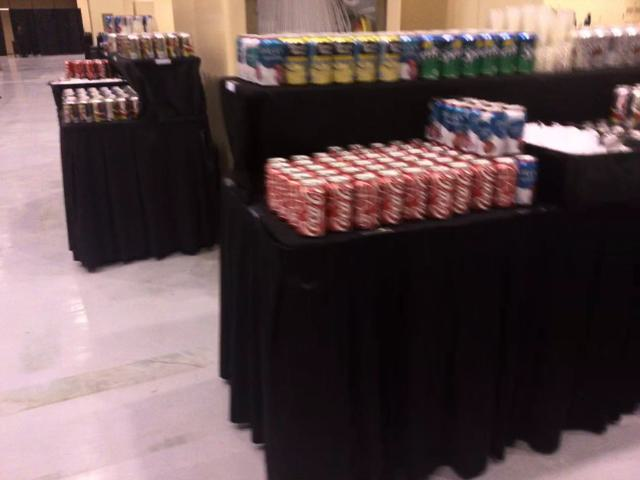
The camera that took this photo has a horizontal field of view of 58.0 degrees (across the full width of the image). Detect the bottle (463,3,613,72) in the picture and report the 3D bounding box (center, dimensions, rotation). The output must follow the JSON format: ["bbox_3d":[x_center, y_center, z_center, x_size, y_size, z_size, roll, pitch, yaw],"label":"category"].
[{"bbox_3d":[0.660,-0.640,1.810,0.200,0.180,0.420,-7,22,-18],"label":"bottle"}]

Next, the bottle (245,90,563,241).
[{"bbox_3d":[0.190,-0.220,1.480,0.680,0.250,0.390,-7,22,-18],"label":"bottle"}]

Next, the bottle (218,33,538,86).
[{"bbox_3d":[0.160,-0.540,1.690,0.850,0.110,0.360,-7,22,-18],"label":"bottle"}]
